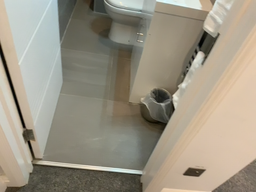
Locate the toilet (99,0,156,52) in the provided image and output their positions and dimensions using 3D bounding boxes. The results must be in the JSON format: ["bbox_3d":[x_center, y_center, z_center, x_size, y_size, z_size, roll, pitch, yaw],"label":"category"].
[{"bbox_3d":[-0.020,-0.810,2.250,0.500,0.460,0.380,9,47,-7],"label":"toilet"}]
